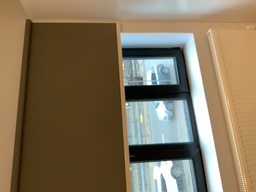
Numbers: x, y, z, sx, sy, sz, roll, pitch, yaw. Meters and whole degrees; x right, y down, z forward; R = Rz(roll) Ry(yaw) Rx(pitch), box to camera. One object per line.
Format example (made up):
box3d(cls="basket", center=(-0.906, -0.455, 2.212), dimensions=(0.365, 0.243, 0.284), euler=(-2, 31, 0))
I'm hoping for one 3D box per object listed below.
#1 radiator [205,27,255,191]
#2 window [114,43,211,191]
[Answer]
box3d(cls="radiator", center=(0.980, 0.100, 1.570), dimensions=(0.040, 0.580, 1.410), euler=(108, 159, -71))
box3d(cls="window", center=(0.270, 0.230, 1.840), dimensions=(0.070, 0.710, 1.520), euler=(110, 157, -72))
